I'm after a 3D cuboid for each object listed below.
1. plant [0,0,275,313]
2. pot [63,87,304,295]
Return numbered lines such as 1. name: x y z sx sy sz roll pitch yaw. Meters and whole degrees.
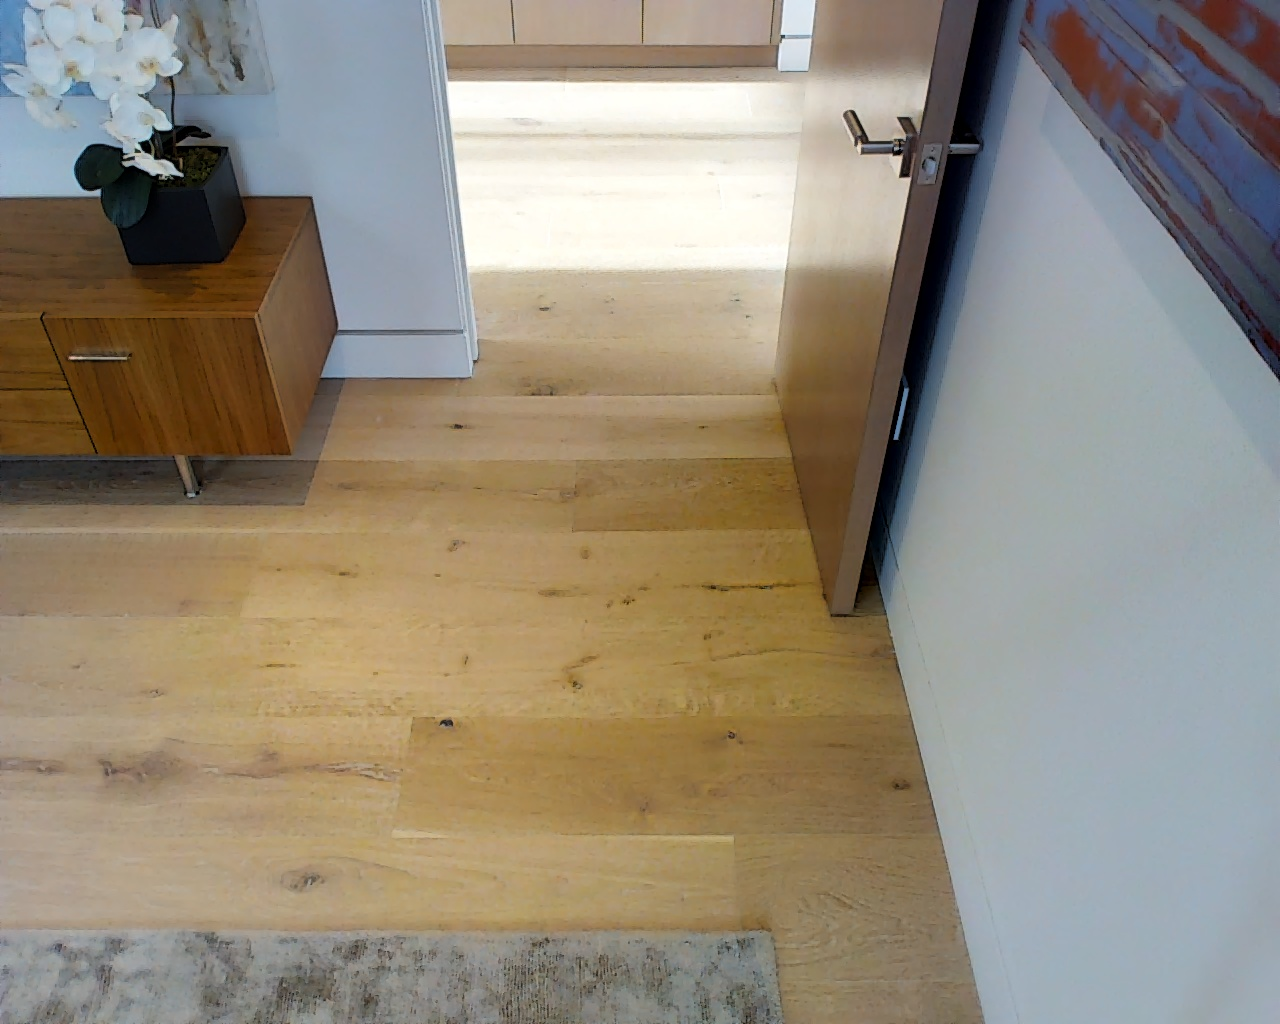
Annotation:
1. plant: -0.910 -0.710 1.920 0.320 0.620 0.310 -2 43 -3
2. pot: -0.890 -0.650 2.160 0.290 0.250 0.400 0 42 -1
